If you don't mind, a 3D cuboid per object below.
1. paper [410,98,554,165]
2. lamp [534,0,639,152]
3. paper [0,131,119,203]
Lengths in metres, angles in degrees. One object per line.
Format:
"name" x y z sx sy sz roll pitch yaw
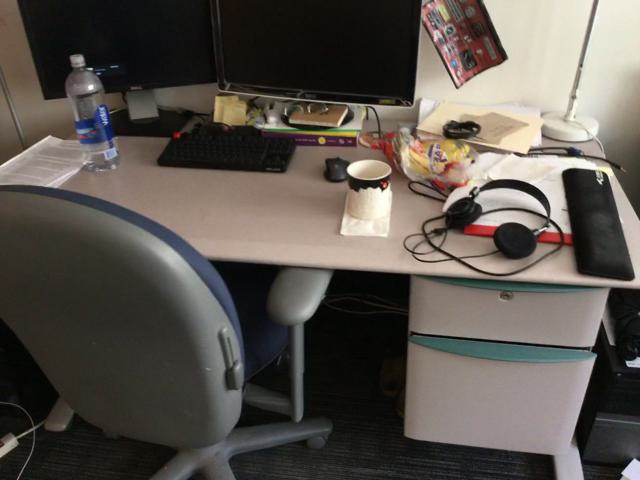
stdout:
"paper" 0.440 -0.300 1.550 0.330 0.050 0.280 10 35 20
"lamp" 0.680 -0.490 1.450 0.180 0.510 0.150 3 33 10
"paper" -0.710 -0.200 1.510 0.230 0.050 0.310 3 33 12
